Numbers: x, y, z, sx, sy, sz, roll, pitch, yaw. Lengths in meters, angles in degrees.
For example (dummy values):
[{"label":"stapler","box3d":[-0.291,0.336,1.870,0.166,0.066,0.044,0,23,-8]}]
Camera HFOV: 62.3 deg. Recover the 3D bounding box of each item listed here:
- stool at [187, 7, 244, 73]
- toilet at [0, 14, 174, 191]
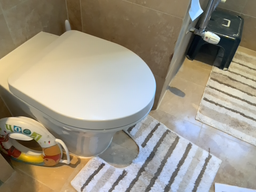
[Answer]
[{"label":"stool","box3d":[0.630,-0.410,1.530,0.240,0.270,0.340,24,51,14]},{"label":"toilet","box3d":[-0.190,0.030,0.900,0.560,0.450,0.400,24,51,14]}]
